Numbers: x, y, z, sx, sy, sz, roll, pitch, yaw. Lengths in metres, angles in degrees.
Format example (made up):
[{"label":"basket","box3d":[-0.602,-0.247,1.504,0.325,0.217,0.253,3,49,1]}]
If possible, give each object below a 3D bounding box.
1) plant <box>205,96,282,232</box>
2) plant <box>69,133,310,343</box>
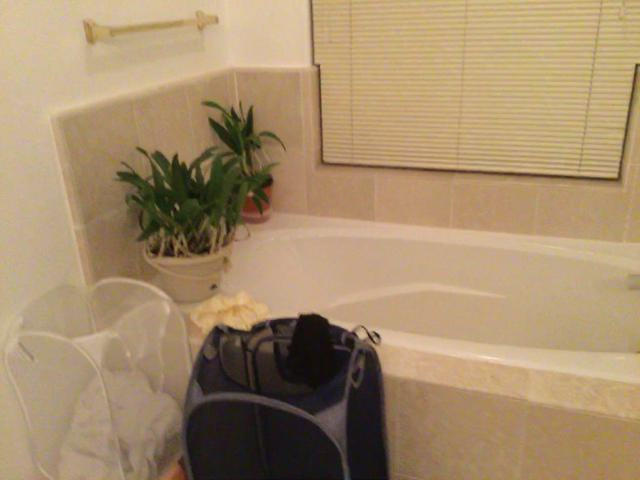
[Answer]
[{"label":"plant","box3d":[-0.300,-0.310,2.350,0.160,0.500,0.220,4,24,21]},{"label":"plant","box3d":[-0.350,-0.040,1.740,0.460,0.460,0.470,4,24,21]}]
